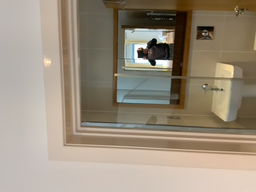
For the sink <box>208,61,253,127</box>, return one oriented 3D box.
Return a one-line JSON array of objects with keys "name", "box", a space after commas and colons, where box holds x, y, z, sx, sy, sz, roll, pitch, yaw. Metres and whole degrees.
[{"name": "sink", "box": [1.110, -0.050, 2.360, 0.470, 0.200, 0.650, -81, -8, -77]}]
